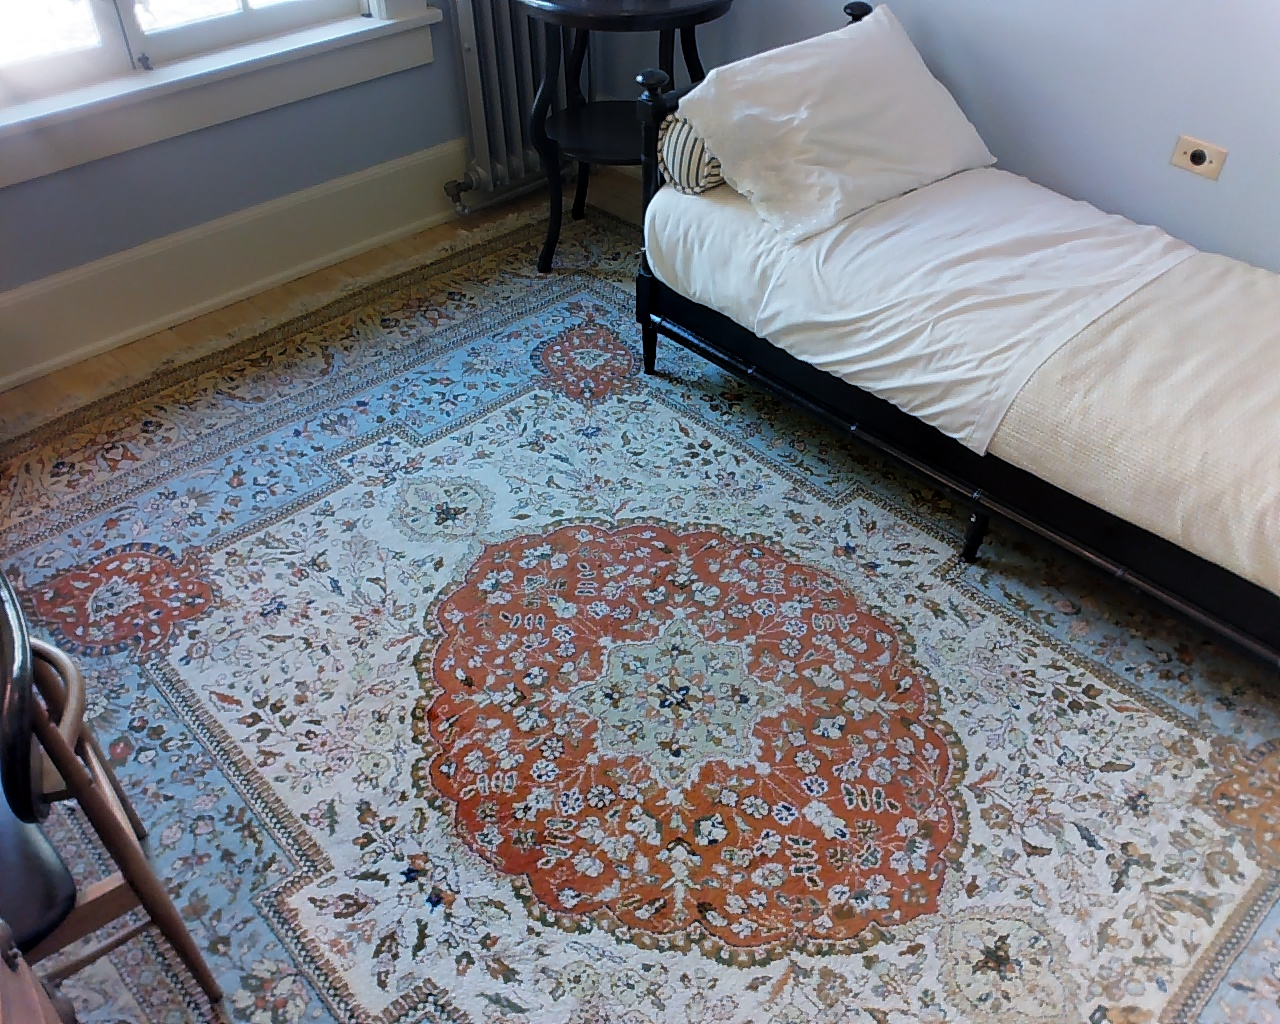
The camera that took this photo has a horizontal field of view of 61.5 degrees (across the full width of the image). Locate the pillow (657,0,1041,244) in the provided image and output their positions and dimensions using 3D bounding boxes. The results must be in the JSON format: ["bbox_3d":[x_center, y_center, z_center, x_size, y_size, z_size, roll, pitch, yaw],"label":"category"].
[{"bbox_3d":[0.470,-0.930,2.420,0.780,0.270,0.430,-32,51,-31],"label":"pillow"}]

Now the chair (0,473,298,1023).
[{"bbox_3d":[-0.830,0.380,1.390,0.380,0.740,0.550,-32,51,-31],"label":"chair"}]

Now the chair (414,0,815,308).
[{"bbox_3d":[-0.080,-1.260,3.120,0.860,0.860,0.710,33,51,31],"label":"chair"}]

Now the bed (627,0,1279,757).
[{"bbox_3d":[1.000,-0.420,2.150,0.920,0.860,2.020,-32,51,-31],"label":"bed"}]
